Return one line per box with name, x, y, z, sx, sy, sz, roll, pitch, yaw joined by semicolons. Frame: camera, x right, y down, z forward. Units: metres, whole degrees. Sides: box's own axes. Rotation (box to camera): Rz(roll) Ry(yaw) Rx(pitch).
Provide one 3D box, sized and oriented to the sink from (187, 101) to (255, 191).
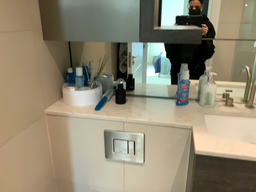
sink;0.590;0.200;0.920;0.620;0.150;0.480;4;21;12
